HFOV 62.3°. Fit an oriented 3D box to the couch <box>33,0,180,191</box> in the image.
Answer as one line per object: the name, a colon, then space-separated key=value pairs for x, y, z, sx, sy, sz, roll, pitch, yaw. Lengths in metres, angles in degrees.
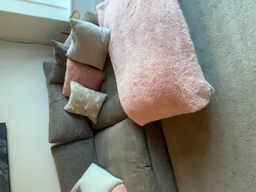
couch: x=-0.330 y=0.360 z=2.270 sx=1.110 sy=0.810 sz=2.330 roll=-30 pitch=68 yaw=49

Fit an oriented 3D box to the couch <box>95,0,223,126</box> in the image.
couch: x=0.180 y=-0.450 z=1.810 sx=0.680 sy=0.450 sz=1.240 roll=-31 pitch=67 yaw=50
